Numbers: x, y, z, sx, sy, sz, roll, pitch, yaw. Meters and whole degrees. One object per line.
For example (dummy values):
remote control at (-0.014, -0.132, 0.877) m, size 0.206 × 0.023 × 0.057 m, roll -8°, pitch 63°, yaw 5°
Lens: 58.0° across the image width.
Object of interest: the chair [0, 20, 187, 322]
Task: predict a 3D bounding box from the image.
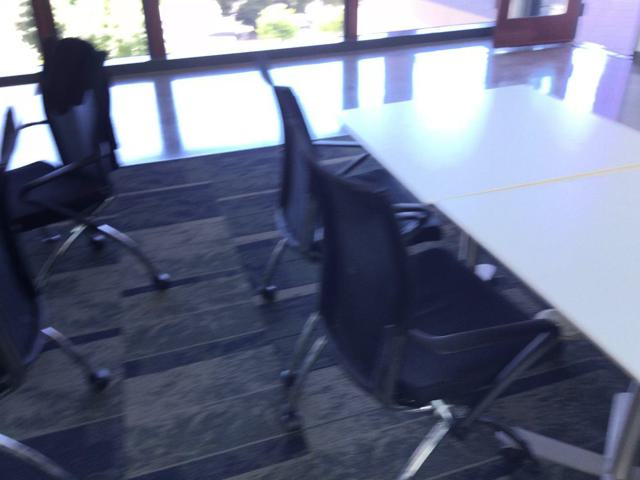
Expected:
chair at (-0.930, -0.290, 2.160) m, size 0.520 × 0.890 × 0.580 m, roll -26°, pitch 38°, yaw -38°

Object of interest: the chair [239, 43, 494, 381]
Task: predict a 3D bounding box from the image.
chair at (0.100, -0.110, 1.860) m, size 0.580 × 0.890 × 0.510 m, roll -8°, pitch 30°, yaw -15°

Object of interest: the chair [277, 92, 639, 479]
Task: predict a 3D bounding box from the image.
chair at (0.240, 0.190, 1.380) m, size 0.560 × 0.910 × 0.550 m, roll -7°, pitch 30°, yaw -13°
